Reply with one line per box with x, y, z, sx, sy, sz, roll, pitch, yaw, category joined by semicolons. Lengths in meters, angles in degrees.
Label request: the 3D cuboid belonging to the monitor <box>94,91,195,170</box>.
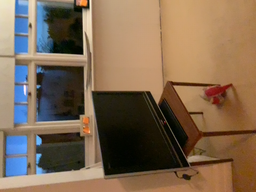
0.070;0.190;1.550;0.710;0.560;0.040;-111;26;-49;monitor
